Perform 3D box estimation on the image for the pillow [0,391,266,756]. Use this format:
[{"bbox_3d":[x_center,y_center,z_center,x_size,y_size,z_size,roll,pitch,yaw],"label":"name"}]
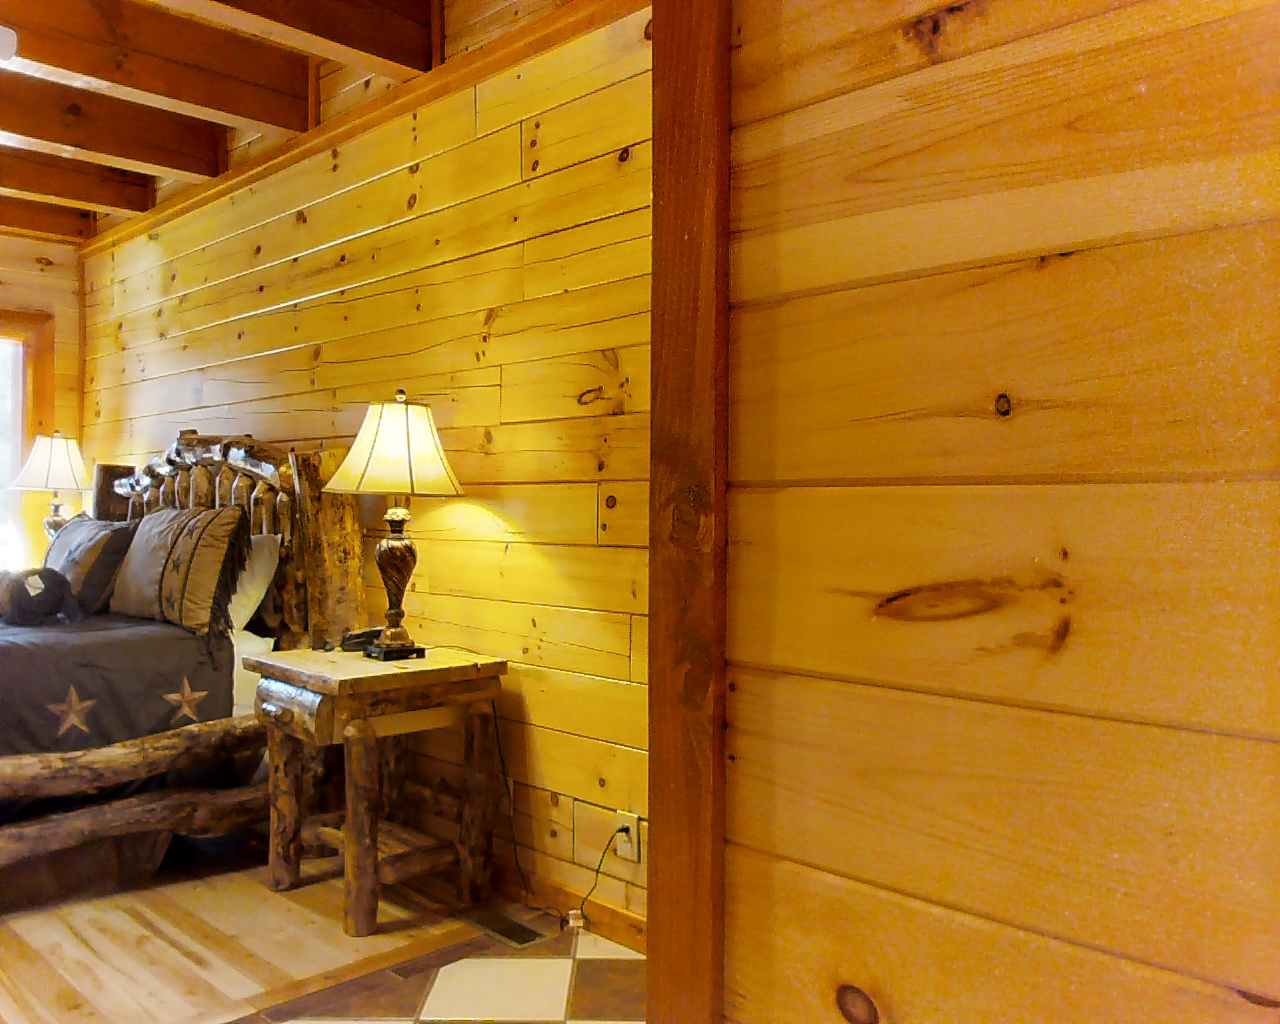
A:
[{"bbox_3d":[-2.089,0.150,4.240,0.360,0.550,1.870,0,27,-45],"label":"pillow"}]
